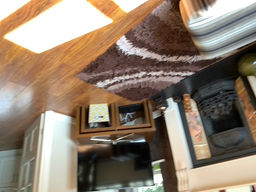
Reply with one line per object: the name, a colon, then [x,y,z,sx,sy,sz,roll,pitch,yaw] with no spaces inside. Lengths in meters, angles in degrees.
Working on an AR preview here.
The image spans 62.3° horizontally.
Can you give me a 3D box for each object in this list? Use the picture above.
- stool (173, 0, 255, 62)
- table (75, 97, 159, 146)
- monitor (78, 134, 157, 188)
stool: [0.650,-0.590,1.440,0.520,0.350,0.470,-22,147,27]
table: [-0.150,0.360,2.930,1.030,0.440,0.520,-4,151,-4]
monitor: [-0.130,0.770,2.600,0.920,0.600,0.080,3,150,-15]
